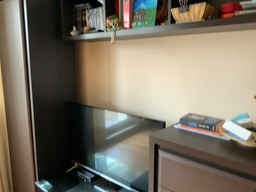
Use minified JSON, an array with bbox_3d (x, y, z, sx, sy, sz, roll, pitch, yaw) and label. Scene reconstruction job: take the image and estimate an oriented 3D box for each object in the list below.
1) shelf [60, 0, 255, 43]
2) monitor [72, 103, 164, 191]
[{"bbox_3d":[0.100,-0.560,1.300,1.430,0.380,0.270,9,14,40],"label":"shelf"},{"bbox_3d":[-0.130,0.390,1.590,0.870,0.570,0.040,9,13,39],"label":"monitor"}]
